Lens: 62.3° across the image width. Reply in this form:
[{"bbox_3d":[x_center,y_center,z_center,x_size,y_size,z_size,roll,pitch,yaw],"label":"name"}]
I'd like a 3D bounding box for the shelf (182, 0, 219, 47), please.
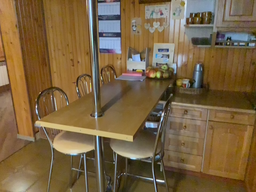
[{"bbox_3d":[0.740,-0.940,2.130,0.300,0.840,0.290,6,19,18],"label":"shelf"}]
